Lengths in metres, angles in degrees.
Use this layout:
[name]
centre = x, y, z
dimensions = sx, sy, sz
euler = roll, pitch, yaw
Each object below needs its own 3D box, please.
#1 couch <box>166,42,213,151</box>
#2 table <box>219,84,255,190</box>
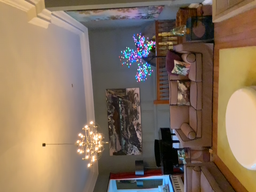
[couch]
centre = 1.380, -0.040, 5.030
dimensions = 1.070, 0.770, 2.350
euler = -83, -9, -78
[table]
centre = 1.590, 0.440, 2.810
dimensions = 1.060, 0.280, 1.070
euler = -83, -9, -79
